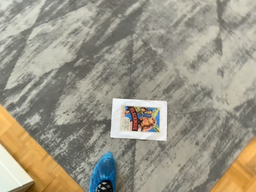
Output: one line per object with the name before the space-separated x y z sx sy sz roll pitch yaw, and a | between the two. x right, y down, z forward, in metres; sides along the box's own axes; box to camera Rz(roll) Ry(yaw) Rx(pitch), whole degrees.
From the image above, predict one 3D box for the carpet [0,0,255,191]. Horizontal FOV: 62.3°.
carpet | -0.210 -0.520 1.240 2.320 0.070 1.720 44 84 9
